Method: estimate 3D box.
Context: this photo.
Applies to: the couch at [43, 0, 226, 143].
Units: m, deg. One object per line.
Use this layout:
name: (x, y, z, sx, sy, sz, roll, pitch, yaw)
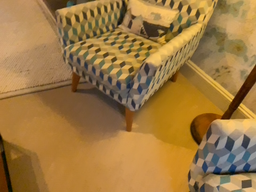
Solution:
couch: (0.050, -0.390, 1.460, 0.730, 0.820, 0.860, 34, 49, 22)
